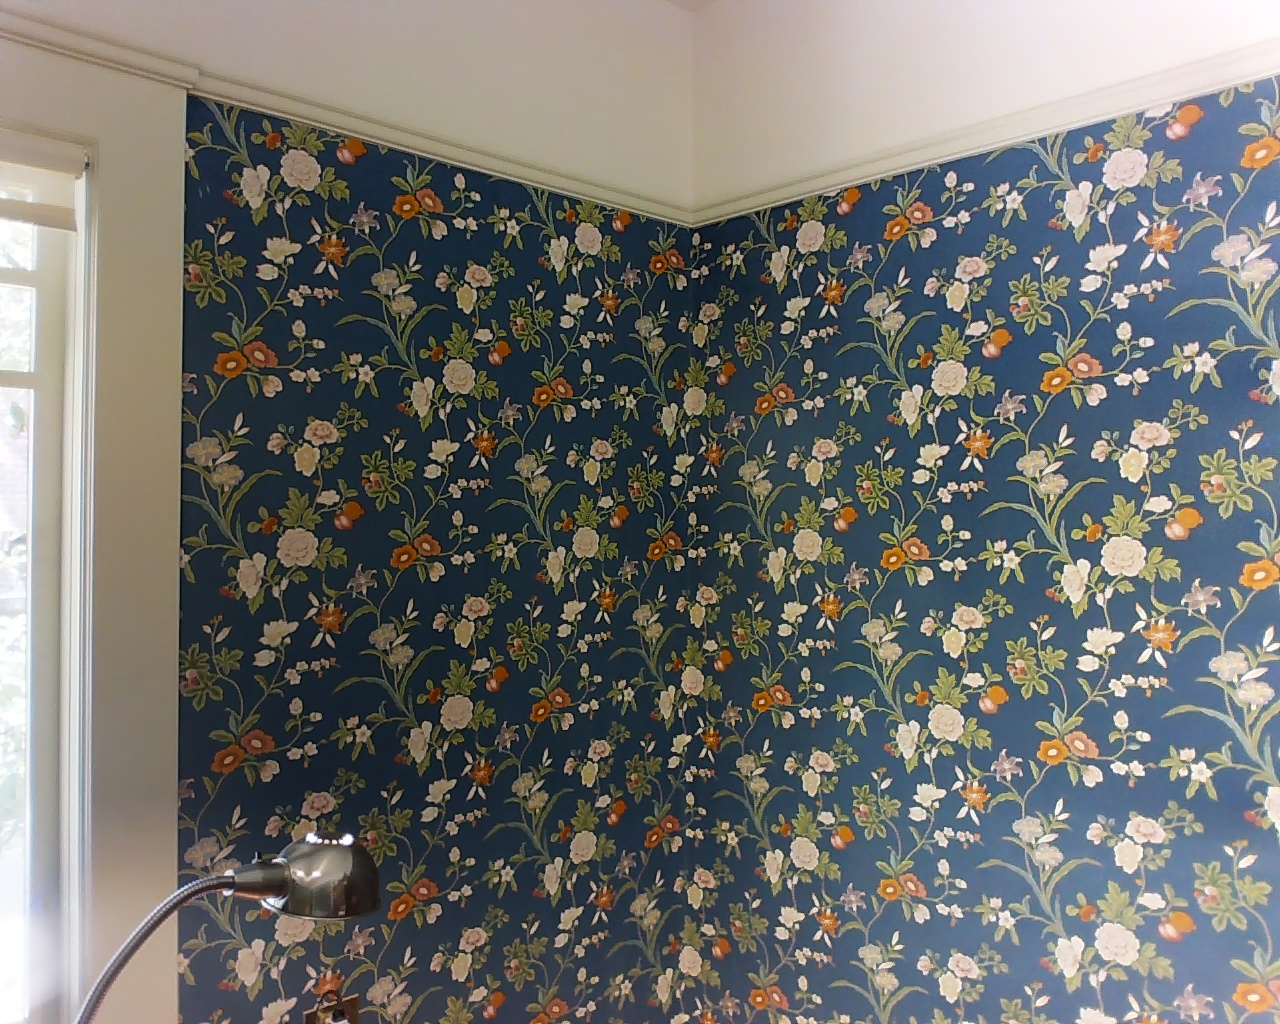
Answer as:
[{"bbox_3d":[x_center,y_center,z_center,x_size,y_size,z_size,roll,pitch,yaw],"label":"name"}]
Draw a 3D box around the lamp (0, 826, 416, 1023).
[{"bbox_3d":[-0.480,0.580,1.240,0.440,0.330,0.110,1,0,-44],"label":"lamp"}]
